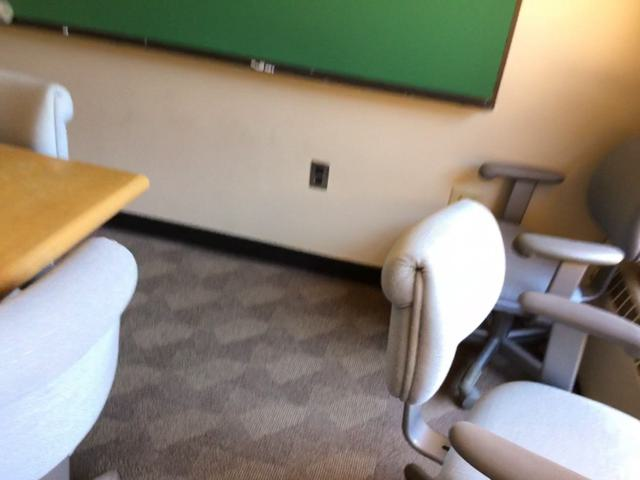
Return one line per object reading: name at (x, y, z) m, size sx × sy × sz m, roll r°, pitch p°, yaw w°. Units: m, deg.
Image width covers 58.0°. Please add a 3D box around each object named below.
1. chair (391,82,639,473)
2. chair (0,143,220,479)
chair at (0.650, 0.070, 1.750) m, size 0.600 × 0.890 × 0.590 m, roll 16°, pitch 24°, yaw 8°
chair at (-0.560, 0.350, 0.990) m, size 0.470 × 0.830 × 0.610 m, roll 16°, pitch 24°, yaw 7°
